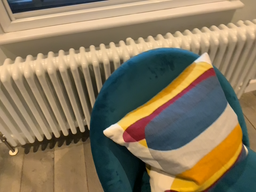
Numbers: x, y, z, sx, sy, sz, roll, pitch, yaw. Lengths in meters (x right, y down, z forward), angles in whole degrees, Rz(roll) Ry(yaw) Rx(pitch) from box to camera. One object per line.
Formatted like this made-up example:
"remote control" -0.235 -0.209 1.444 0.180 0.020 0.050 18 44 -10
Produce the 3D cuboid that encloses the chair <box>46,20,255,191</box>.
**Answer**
"chair" 0.260 0.290 0.790 0.650 0.720 0.710 -31 53 -25
